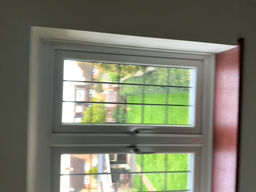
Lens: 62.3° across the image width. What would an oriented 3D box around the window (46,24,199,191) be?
[{"bbox_3d":[-0.010,0.150,1.260,0.110,0.860,1.040,176,95,-79],"label":"window"}]
